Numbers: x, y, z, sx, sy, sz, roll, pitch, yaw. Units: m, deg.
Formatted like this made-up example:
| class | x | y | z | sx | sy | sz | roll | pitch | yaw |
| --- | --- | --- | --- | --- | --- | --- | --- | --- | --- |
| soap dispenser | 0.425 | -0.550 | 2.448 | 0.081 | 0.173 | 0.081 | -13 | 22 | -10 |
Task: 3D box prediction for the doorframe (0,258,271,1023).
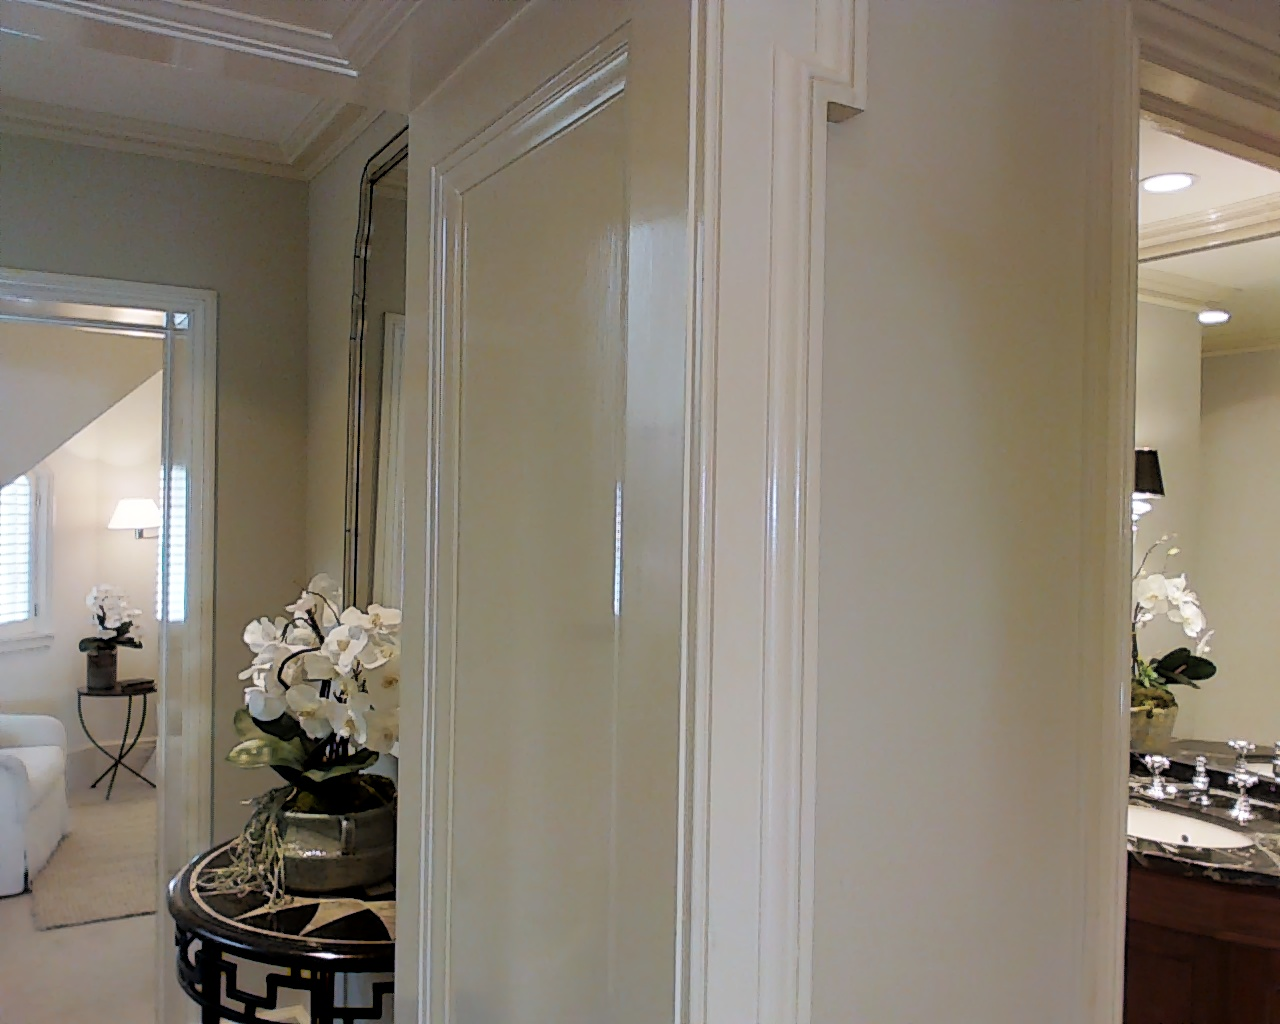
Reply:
| class | x | y | z | sx | sy | sz | roll | pitch | yaw |
| --- | --- | --- | --- | --- | --- | --- | --- | --- | --- |
| doorframe | -1.380 | 0.450 | 2.950 | 0.230 | 2.080 | 0.890 | 1 | 1 | 14 |
